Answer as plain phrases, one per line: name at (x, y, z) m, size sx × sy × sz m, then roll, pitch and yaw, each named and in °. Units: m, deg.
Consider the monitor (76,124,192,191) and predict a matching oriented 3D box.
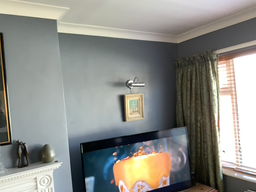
monitor at (0.120, 0.760, 2.320) m, size 1.290 × 0.730 × 0.080 m, roll -5°, pitch 1°, yaw -22°
